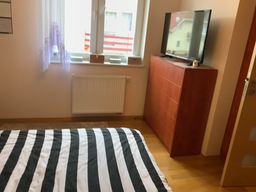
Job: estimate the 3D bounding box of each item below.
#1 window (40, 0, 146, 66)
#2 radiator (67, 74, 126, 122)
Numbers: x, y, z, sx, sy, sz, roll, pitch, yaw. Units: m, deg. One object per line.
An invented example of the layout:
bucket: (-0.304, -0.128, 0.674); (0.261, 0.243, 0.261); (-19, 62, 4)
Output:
window: (-0.510, -1.360, 3.260); (1.530, 1.680, 0.250); (1, 18, -16)
radiator: (-0.500, 0.040, 3.320); (0.860, 0.720, 0.170); (1, 18, -15)
